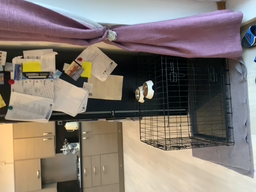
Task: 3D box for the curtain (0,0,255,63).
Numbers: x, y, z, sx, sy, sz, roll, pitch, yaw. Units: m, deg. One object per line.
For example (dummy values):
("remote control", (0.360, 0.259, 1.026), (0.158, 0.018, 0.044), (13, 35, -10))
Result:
("curtain", (-0.260, -0.360, 1.130), (0.530, 2.220, 0.320), (-156, 66, -70))
